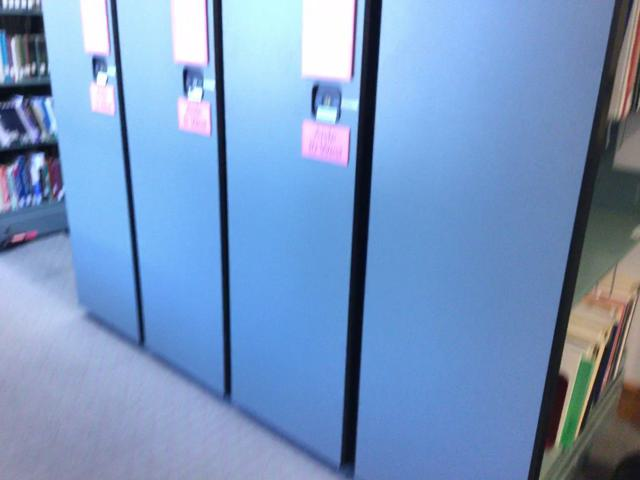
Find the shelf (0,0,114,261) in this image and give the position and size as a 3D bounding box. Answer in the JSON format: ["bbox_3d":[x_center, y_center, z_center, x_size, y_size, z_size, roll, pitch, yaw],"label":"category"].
[{"bbox_3d":[-1.980,-0.930,3.520,0.990,1.860,0.800,13,21,38],"label":"shelf"}]

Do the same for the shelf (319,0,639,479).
[{"bbox_3d":[0.630,-0.460,1.600,0.760,2.500,1.060,13,21,38],"label":"shelf"}]
